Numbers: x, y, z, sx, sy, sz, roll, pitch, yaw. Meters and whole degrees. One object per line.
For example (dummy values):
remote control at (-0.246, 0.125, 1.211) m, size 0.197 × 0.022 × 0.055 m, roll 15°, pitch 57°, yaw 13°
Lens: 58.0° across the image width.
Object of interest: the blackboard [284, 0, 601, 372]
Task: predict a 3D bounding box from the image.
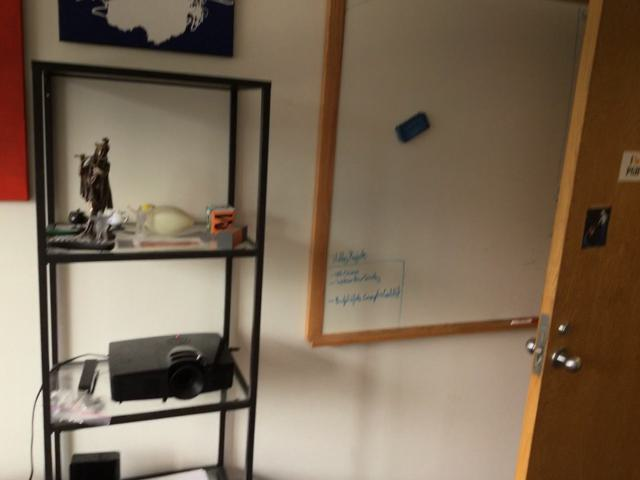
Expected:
blackboard at (0.410, -0.230, 1.900) m, size 0.980 × 1.270 × 0.130 m, roll 0°, pitch 11°, yaw -23°
